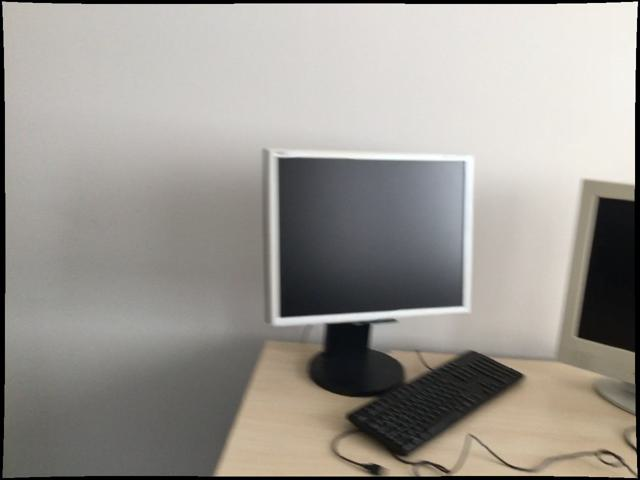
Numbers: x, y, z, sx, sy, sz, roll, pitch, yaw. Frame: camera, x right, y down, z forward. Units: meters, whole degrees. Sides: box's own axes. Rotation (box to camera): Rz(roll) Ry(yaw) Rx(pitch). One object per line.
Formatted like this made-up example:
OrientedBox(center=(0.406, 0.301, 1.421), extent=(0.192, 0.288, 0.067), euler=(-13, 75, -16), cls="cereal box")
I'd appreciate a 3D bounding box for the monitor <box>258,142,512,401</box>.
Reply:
OrientedBox(center=(0.120, 0.050, 1.250), extent=(0.470, 0.490, 0.200), euler=(-2, 17, -17), cls="monitor")
